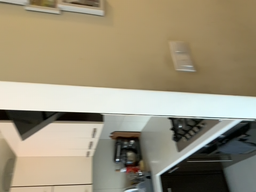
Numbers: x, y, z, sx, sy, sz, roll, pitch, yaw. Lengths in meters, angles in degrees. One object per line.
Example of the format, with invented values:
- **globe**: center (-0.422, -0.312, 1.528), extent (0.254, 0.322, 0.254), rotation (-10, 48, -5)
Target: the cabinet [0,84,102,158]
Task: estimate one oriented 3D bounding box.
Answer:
- **cabinet**: center (-0.680, 0.290, 1.970), extent (0.830, 0.770, 0.330), rotation (114, 156, -55)
